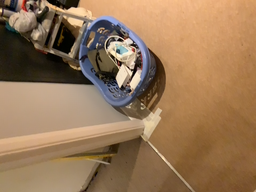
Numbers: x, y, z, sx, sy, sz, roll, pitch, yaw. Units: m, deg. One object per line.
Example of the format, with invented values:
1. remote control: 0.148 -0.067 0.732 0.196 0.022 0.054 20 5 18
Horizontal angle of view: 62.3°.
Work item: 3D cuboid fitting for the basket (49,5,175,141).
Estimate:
1. basket: -0.170 -0.180 1.400 0.800 0.230 0.500 42 117 32
